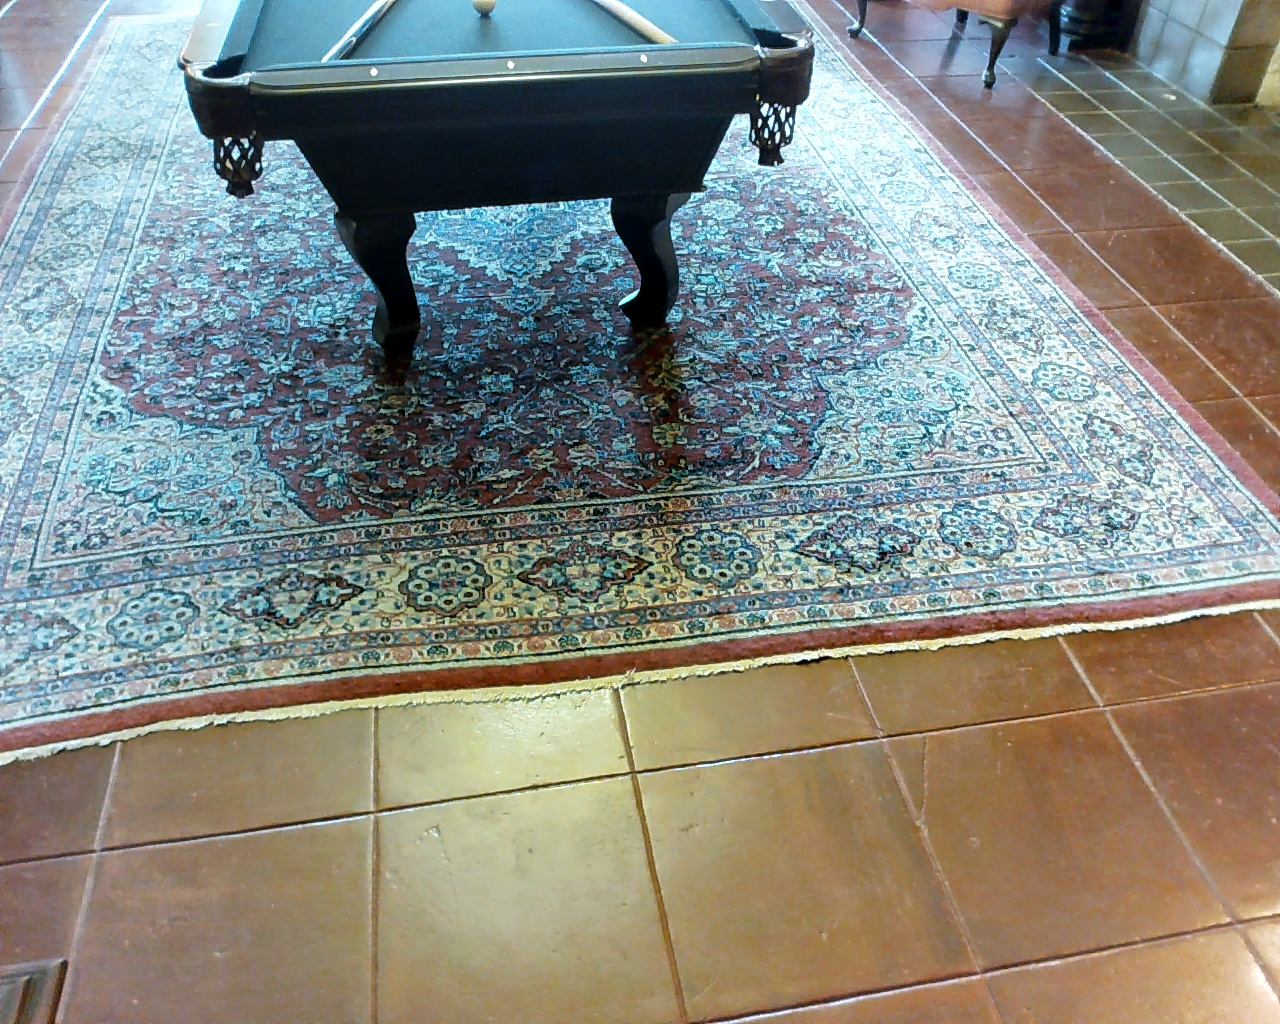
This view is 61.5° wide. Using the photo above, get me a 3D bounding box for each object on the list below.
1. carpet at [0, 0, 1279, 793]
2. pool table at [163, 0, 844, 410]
[{"bbox_3d":[-0.520,-1.100,3.590,3.300,0.050,4.370,-7,43,-9],"label":"carpet"},{"bbox_3d":[-0.480,-1.450,3.400,1.400,0.780,2.530,-6,42,-8],"label":"pool table"}]
